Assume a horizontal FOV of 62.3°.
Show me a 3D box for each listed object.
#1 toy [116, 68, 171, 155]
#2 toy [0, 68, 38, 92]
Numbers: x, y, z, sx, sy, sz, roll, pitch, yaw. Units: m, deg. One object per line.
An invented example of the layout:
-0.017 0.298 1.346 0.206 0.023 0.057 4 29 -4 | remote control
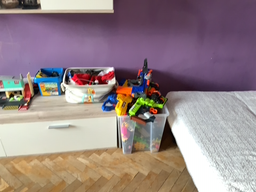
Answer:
0.090 0.110 1.890 0.370 0.550 0.550 -1 29 -6 | toy
-0.950 -0.140 1.790 0.300 0.130 0.180 -3 30 -9 | toy
